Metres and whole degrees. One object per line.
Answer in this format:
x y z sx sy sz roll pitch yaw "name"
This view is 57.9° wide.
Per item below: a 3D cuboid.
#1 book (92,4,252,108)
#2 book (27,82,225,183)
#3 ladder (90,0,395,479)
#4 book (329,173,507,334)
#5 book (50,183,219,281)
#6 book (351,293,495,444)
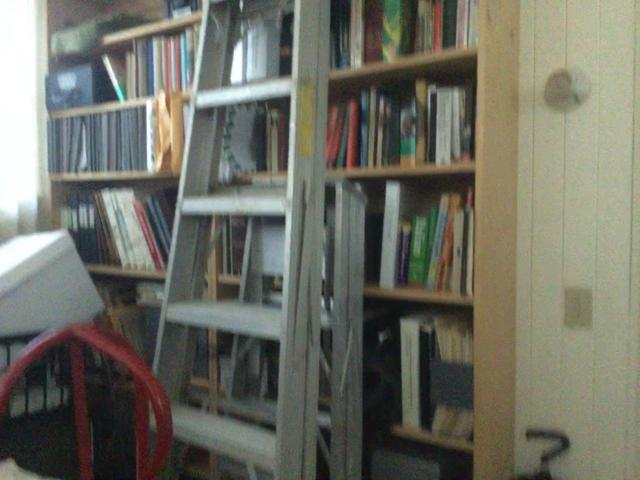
-0.520 -0.620 2.020 0.510 0.230 0.260 2 4 33 "book"
-0.730 -0.360 2.090 0.870 0.280 0.170 2 4 33 "book"
-0.210 0.150 1.540 0.640 2.390 0.410 2 -1 33 "ladder"
0.270 0.020 1.590 0.400 0.380 0.280 2 4 33 "book"
-0.710 -0.040 2.180 0.670 0.320 0.230 2 4 33 "book"
0.290 0.330 1.600 0.300 0.310 0.290 2 4 33 "book"
